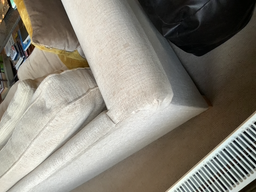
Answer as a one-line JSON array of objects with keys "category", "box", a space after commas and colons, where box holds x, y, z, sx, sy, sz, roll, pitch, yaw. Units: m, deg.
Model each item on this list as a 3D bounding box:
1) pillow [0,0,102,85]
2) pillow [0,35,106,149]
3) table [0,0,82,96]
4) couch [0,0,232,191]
[{"category": "pillow", "box": [-0.400, -0.400, 1.030, 0.250, 0.470, 0.490, -24, 64, 11]}, {"category": "pillow", "box": [-0.470, 0.020, 1.120, 0.570, 0.500, 0.220, -17, 60, -1]}, {"category": "table", "box": [-1.130, -0.630, 2.070, 1.450, 0.460, 0.510, -39, 64, 28]}, {"category": "couch", "box": [-0.690, 0.170, 1.460, 2.200, 0.810, 1.040, -39, 64, 28]}]
